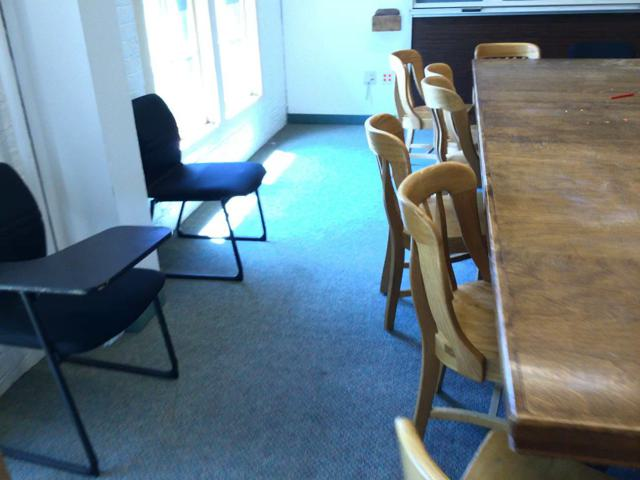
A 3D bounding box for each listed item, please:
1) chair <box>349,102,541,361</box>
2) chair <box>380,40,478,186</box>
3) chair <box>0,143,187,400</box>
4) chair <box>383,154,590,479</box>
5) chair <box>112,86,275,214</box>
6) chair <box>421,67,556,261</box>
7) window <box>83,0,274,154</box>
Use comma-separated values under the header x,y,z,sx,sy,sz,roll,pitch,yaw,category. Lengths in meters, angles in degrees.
x,y,z,sx,sy,sz,roll,pitch,yaw,category
0.480,-0.060,2.280,0.600,0.830,0.590,1,24,13,chair
0.740,-0.860,3.900,0.580,0.840,0.580,1,24,13,chair
-0.830,0.060,1.750,0.590,0.570,0.530,1,24,13,chair
0.440,0.220,1.670,0.440,0.810,0.520,1,24,13,chair
-0.570,-0.440,2.760,0.550,0.480,0.480,1,24,13,chair
0.820,-0.400,2.960,0.570,0.840,0.560,1,24,13,chair
-0.750,-1.200,3.770,0.250,0.710,2.110,1,24,13,window
